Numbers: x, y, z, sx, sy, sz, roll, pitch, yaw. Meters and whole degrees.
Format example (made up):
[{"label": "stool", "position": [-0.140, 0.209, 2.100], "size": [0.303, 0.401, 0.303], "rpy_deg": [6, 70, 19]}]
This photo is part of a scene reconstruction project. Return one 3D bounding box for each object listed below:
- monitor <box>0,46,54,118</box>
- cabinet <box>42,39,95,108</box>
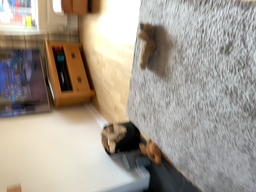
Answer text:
[{"label": "monitor", "position": [-1.530, -0.250, 3.060], "size": [0.050, 0.680, 1.120], "rpy_deg": [-49, 54, 52]}, {"label": "cabinet", "position": [-0.960, -0.360, 3.310], "size": [0.410, 0.560, 0.960], "rpy_deg": [-48, 55, 53]}]
